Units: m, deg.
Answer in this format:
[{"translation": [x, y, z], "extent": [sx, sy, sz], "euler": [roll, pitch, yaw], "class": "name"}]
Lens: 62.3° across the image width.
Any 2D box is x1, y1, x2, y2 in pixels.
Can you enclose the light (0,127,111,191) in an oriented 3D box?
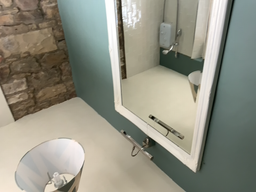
[{"translation": [-0.420, 0.560, 1.340], "extent": [0.480, 0.430, 0.480], "euler": [81, 21, -48], "class": "light"}]
